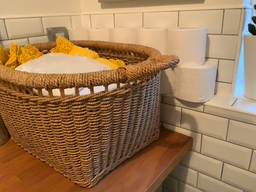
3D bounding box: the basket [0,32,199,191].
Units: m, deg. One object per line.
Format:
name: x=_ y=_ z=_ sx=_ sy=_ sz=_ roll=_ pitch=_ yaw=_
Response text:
basket: x=-0.170 y=0.010 z=0.700 sx=0.640 sy=0.380 sz=0.400 roll=14 pitch=26 yaw=34
